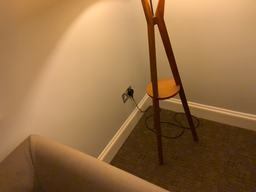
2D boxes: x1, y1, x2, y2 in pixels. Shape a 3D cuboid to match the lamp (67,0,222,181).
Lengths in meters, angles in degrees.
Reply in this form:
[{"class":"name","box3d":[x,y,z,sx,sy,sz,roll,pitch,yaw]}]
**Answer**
[{"class":"lamp","box3d":[0.170,-0.270,1.330,0.590,1.600,0.570,17,47,37]}]
